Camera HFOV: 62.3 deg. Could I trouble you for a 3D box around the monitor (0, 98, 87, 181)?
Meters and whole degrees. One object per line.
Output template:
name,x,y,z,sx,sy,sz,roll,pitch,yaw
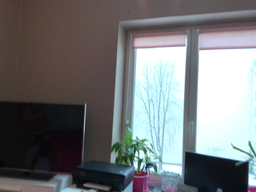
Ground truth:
monitor,-0.990,0.380,1.990,1.170,0.670,0.050,5,-2,6

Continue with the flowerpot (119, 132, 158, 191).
flowerpot,0.110,0.670,2.100,0.290,0.580,0.270,2,-3,23

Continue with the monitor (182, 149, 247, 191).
monitor,0.740,0.730,1.870,0.530,0.420,0.030,1,-3,38
